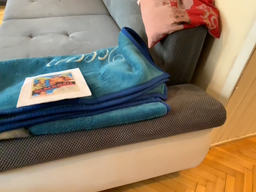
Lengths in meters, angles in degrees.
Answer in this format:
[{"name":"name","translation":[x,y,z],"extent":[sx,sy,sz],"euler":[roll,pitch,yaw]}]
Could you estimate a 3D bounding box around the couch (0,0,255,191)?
[{"name":"couch","translation":[-0.450,-0.590,1.630],"extent":[1.000,0.730,2.500],"euler":[-8,43,-16]}]
